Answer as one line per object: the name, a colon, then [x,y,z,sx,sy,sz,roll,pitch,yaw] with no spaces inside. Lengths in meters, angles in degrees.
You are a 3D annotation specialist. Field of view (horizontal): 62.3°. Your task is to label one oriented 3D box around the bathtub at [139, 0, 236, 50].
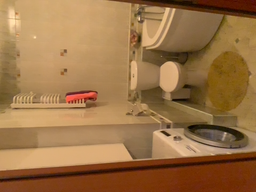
bathtub: [0.610,-1.330,2.360,1.020,0.620,1.510,-151,62,-73]
